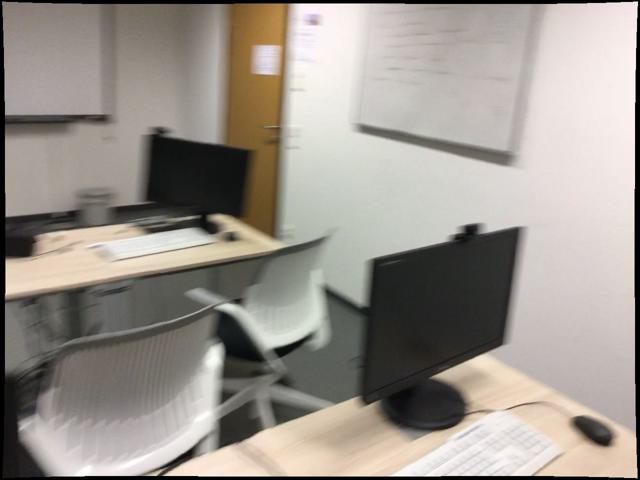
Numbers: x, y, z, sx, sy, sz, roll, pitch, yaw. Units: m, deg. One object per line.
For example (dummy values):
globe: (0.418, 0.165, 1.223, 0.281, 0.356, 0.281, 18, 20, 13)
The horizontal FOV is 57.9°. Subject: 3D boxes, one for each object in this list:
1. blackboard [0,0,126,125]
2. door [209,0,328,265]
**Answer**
blackboard: (-2.617, -1.692, 4.800, 1.799, 1.411, 0.240, -12, 24, -32)
door: (-0.450, -1.071, 4.590, 0.230, 2.182, 1.430, -12, 24, -32)
